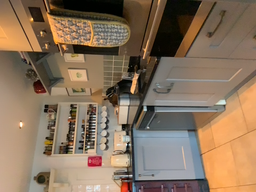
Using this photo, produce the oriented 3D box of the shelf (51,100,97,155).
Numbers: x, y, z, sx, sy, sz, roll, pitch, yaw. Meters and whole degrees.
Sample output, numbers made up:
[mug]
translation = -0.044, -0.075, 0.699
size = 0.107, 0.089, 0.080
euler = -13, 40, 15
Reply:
[shelf]
translation = -0.780, 0.450, 3.160
size = 0.100, 0.610, 0.810
euler = 104, 165, -65
